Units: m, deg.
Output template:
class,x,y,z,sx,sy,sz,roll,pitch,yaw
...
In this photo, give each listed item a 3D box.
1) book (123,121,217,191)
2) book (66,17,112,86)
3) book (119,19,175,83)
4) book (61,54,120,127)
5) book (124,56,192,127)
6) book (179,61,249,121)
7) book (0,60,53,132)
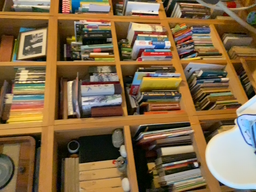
class,x,y,z,sx,sy,sz,roll,pitch,yaw
book,0.200,0.390,1.210,0.320,0.360,0.370,108,156,-55
book,-0.290,-0.310,1.520,0.320,0.280,0.350,108,156,-55
book,0.120,-0.330,1.610,0.350,0.290,0.310,108,156,-55
book,-0.240,-0.030,1.310,0.300,0.300,0.330,108,156,-55
book,0.170,-0.030,1.400,0.290,0.300,0.360,108,156,-55
book,0.600,-0.040,1.540,0.250,0.290,0.340,106,158,-53
book,-0.630,0.000,1.270,0.260,0.300,0.330,108,156,-55
